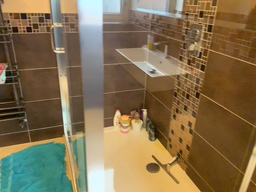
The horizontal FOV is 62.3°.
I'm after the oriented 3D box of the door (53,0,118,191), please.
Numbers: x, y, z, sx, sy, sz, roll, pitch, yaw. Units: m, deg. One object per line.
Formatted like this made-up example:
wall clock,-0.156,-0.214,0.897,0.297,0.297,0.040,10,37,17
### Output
door,-0.310,-0.180,1.200,0.080,1.960,1.320,-7,26,-20
